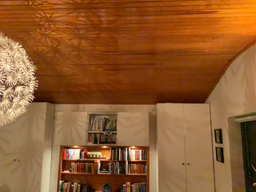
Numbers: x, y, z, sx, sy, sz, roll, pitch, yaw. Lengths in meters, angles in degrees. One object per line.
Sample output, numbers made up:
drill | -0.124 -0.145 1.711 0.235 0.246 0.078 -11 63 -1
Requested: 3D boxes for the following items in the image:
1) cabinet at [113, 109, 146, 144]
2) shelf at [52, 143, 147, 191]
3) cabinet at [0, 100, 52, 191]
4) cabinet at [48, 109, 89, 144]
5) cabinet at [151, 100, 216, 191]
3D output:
cabinet | 0.040 0.600 4.150 0.600 0.650 0.490 0 -10 2
shelf | -0.550 1.480 4.350 1.850 0.990 0.330 0 -10 2
cabinet | -2.150 1.290 4.120 1.020 2.380 0.480 0 -10 2
cabinet | -1.150 0.600 4.190 0.620 0.640 0.510 0 -10 2
cabinet | 1.010 1.280 4.000 1.070 2.380 0.470 0 -10 2
